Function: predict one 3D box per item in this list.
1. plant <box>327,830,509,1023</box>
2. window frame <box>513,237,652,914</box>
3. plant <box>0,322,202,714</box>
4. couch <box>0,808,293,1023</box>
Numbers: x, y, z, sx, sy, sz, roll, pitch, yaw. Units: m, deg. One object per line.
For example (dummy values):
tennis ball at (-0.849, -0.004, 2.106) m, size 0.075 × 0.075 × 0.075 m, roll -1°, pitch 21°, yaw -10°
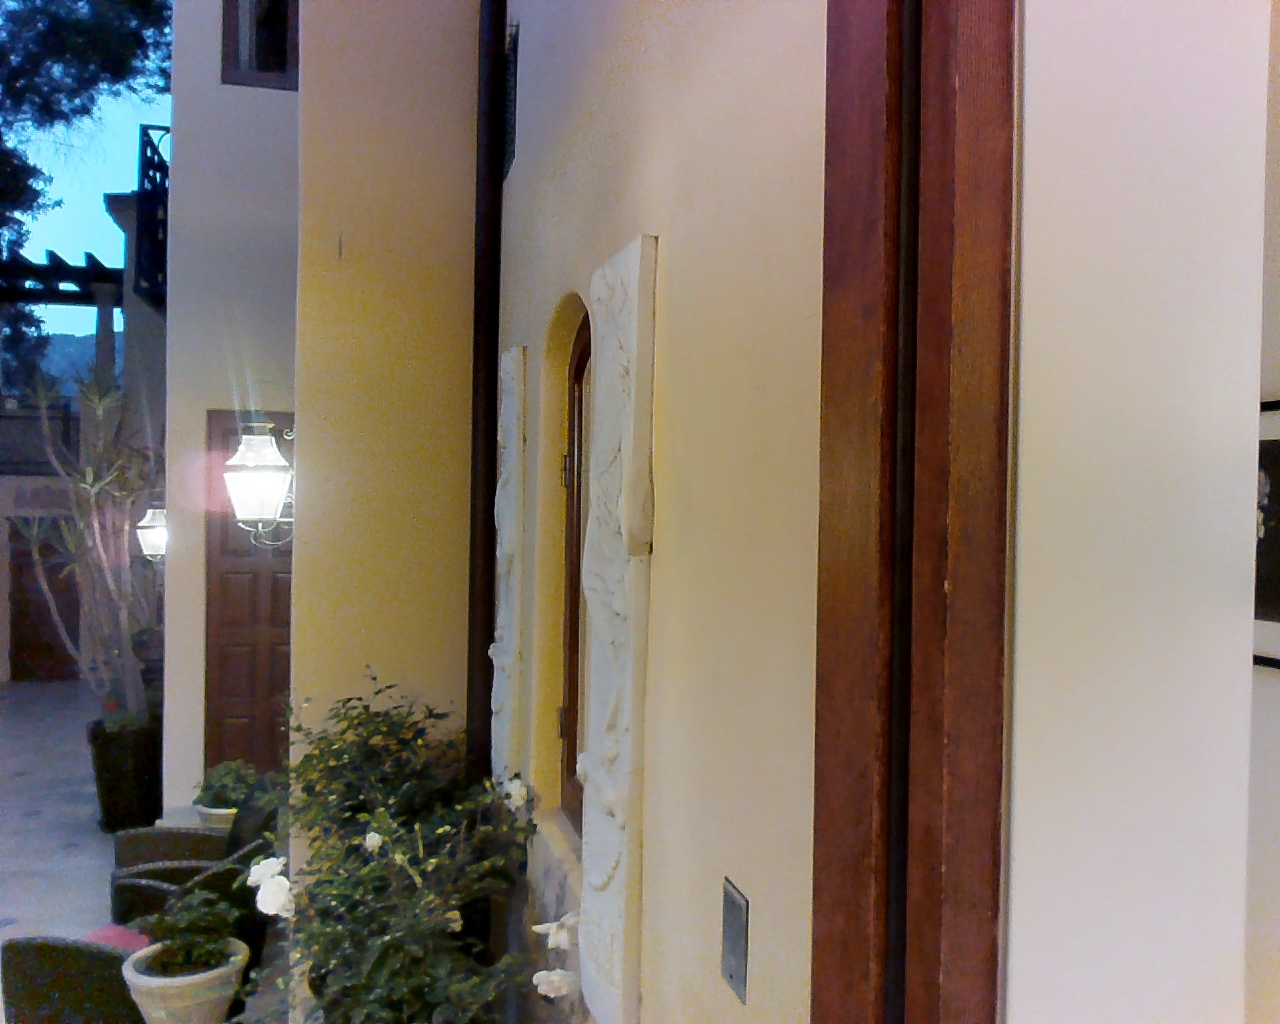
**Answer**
plant at (-0.440, 0.890, 2.090) m, size 0.310 × 0.400 × 0.420 m, roll 1°, pitch 1°, yaw -14°
window frame at (-0.150, 0.120, 2.420) m, size 0.160 × 1.301 × 0.690 m, roll 1°, pitch 1°, yaw -14°
plant at (-3.748, 0.040, 7.370) m, size 1.259 × 2.491 × 0.850 m, roll 1°, pitch 1°, yaw -14°
couch at (-1.909, 1.721, 4.160) m, size 0.820 × 0.900 × 0.750 m, roll 1°, pitch 1°, yaw 8°
